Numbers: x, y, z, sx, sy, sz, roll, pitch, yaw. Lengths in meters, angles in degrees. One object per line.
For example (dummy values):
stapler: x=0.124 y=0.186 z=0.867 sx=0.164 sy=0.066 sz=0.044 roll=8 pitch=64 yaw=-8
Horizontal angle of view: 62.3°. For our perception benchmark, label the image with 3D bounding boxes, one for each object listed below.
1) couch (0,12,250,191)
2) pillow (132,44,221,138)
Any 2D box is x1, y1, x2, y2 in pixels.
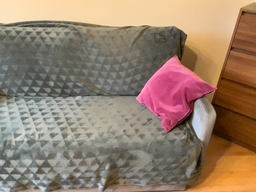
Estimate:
couch: x=-0.650 y=0.000 z=1.410 sx=2.180 sy=0.840 sz=1.000 roll=1 pitch=32 yaw=-5
pillow: x=0.260 y=-0.030 z=1.280 sx=0.140 sy=0.350 sz=0.430 roll=15 pitch=35 yaw=-43
